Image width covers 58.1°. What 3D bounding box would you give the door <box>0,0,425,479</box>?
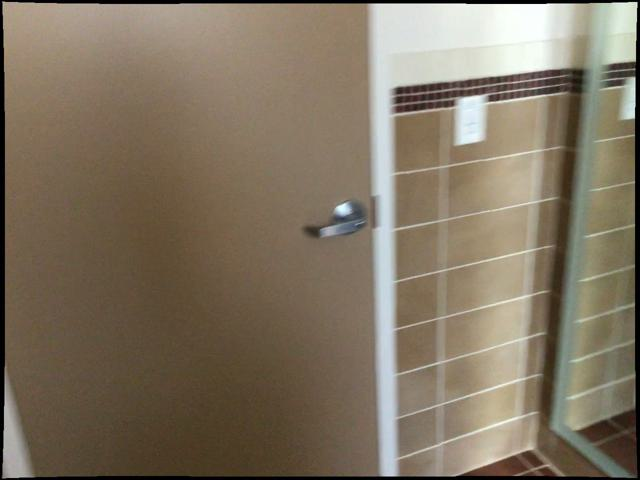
[{"bbox_3d":[-0.269,0.211,1.430,1.088,1.554,0.100,-12,20,-17],"label":"door"}]

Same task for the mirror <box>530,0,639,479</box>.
[{"bbox_3d":[0.828,0.050,1.370,0.110,1.664,0.800,-12,20,-17],"label":"mirror"}]
